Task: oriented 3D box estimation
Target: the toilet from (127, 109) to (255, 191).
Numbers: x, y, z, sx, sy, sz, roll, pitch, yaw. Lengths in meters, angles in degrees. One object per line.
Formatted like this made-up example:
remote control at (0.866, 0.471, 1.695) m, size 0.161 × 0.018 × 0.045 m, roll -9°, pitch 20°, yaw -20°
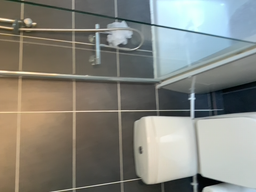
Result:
toilet at (0.520, 0.300, 1.280) m, size 0.710 × 0.810 × 0.390 m, roll 163°, pitch 107°, yaw -64°
